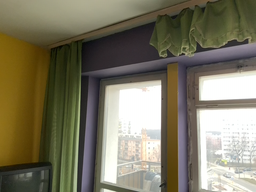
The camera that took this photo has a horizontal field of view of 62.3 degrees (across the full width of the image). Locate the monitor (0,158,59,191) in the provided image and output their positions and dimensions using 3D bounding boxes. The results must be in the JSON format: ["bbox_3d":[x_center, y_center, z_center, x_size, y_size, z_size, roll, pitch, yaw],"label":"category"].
[{"bbox_3d":[-0.960,0.810,1.840,0.310,0.440,0.570,-5,-11,38],"label":"monitor"}]

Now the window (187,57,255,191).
[{"bbox_3d":[0.880,0.260,1.670,0.770,1.090,0.130,-4,-8,35],"label":"window"}]
